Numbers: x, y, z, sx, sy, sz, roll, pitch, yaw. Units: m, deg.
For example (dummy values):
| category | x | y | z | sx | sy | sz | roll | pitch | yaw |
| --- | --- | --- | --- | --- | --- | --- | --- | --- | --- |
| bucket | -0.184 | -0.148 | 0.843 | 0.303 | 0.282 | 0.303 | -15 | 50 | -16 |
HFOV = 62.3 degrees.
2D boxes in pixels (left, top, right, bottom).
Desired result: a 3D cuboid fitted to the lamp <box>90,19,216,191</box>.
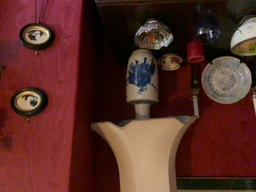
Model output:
| category | x | y | z | sx | sy | sz | roll | pitch | yaw |
| --- | --- | --- | --- | --- | --- | --- | --- | --- | --- |
| lamp | 0.090 | 0.090 | 0.960 | 0.430 | 0.750 | 0.360 | 0 | 167 | 1 |
